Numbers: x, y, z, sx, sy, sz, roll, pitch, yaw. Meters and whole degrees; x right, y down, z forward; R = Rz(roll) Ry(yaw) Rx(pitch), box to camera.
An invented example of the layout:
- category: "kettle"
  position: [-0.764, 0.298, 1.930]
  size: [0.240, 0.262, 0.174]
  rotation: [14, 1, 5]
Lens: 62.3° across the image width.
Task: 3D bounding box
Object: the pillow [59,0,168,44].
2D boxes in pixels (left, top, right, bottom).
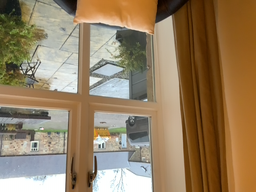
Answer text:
- category: "pillow"
  position: [-0.030, -0.500, 0.940]
  size: [0.420, 0.380, 0.140]
  rotation: [20, -164, -13]

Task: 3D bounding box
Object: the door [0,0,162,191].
- category: "door"
  position: [-0.310, -0.020, 1.380]
  size: [1.250, 1.910, 0.110]
  rotation: [7, 165, -35]
